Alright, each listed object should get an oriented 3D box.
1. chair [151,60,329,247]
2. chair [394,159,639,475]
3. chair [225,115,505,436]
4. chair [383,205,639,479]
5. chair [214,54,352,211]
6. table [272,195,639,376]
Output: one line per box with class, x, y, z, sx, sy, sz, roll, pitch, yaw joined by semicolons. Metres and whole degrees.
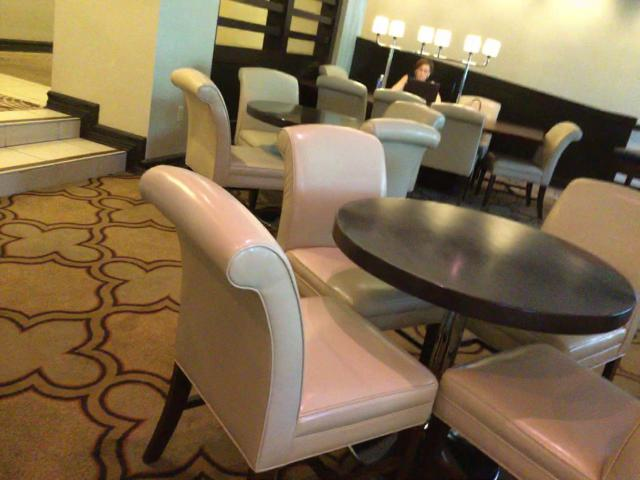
chair;-0.510;-0.520;3.520;0.770;0.930;0.590;-4;25;-36
chair;0.880;0.230;2.230;0.810;0.920;0.580;-4;25;-36
chair;0.110;0.080;2.260;0.560;0.930;0.760;-4;25;-36
chair;0.710;0.470;1.510;0.570;0.910;0.740;-5;26;-38
chair;-0.320;-0.820;4.380;0.610;0.950;0.840;0;23;-29
table;0.470;0.050;1.780;0.910;0.080;0.890;-4;25;-36
